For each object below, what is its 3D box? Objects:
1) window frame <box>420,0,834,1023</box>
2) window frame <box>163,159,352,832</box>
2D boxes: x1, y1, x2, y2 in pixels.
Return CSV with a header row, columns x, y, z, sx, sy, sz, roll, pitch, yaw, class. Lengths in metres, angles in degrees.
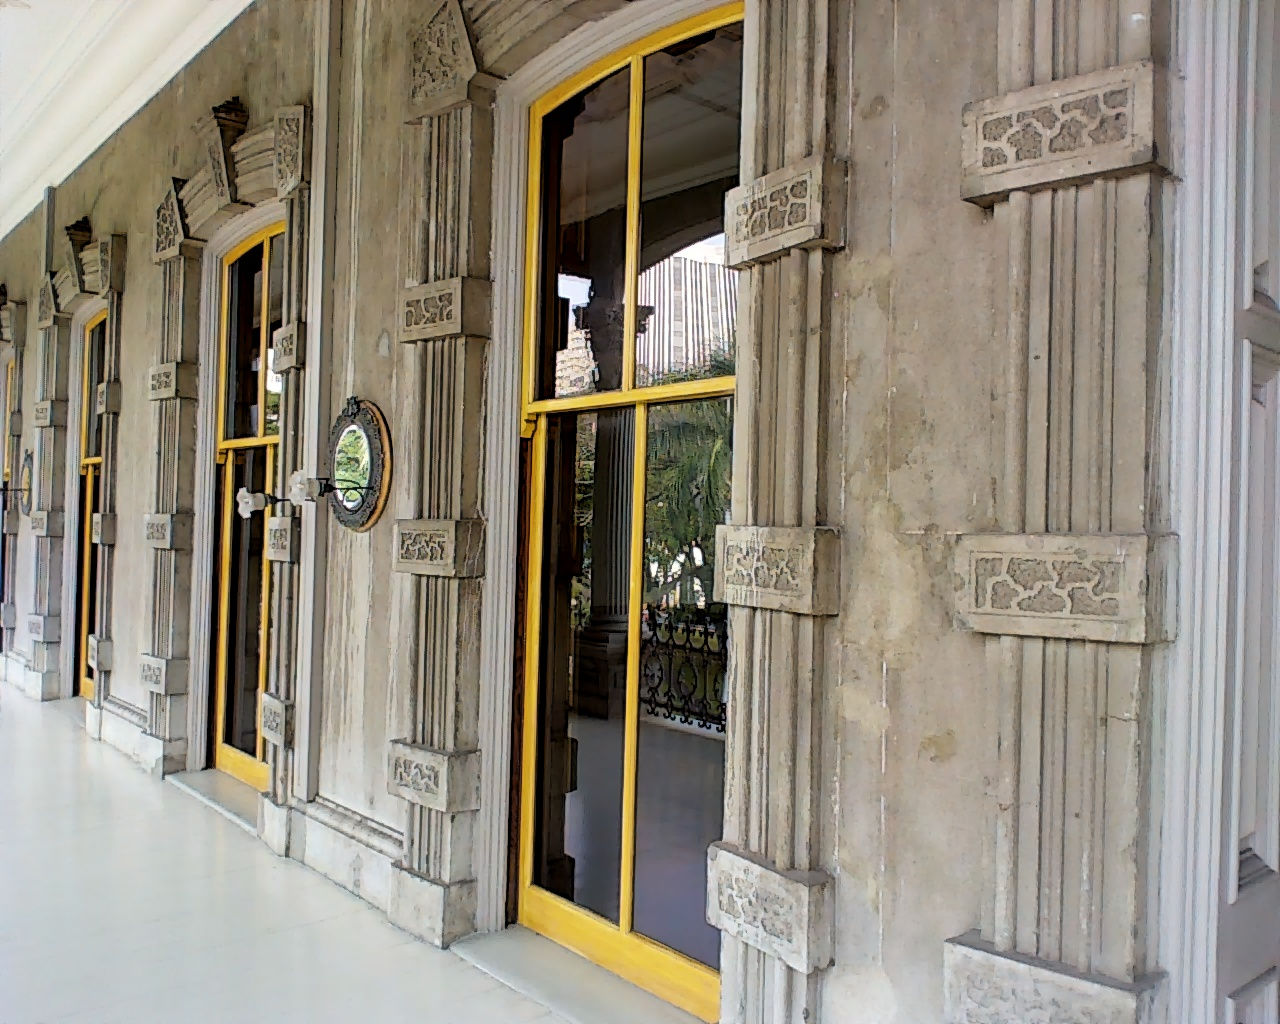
x,y,z,sx,sy,sz,roll,pitch,yaw,class
-0.120,-0.100,3.500,0.360,3.260,1.510,3,-1,-40,window frame
-2.130,-0.090,5.870,0.310,3.240,1.580,3,-1,-40,window frame
